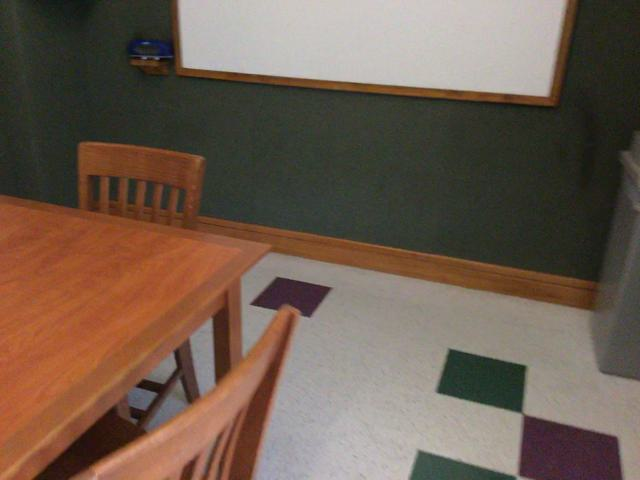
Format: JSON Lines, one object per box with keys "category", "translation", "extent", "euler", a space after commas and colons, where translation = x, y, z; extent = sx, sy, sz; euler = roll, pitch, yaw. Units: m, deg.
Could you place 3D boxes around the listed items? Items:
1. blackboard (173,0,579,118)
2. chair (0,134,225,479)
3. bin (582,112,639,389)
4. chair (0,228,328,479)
{"category": "blackboard", "translation": [0.150, -1.090, 2.440], "extent": [1.770, 0.940, 0.090], "euler": [11, 25, 19]}
{"category": "chair", "translation": [-0.660, 0.230, 1.660], "extent": [0.470, 0.890, 0.660], "euler": [11, 25, 19]}
{"category": "bin", "translation": [1.260, 0.030, 2.140], "extent": [0.350, 0.870, 0.570], "euler": [11, 25, 19]}
{"category": "chair", "translation": [-0.380, 0.530, 1.000], "extent": [0.580, 0.880, 0.540], "euler": [13, 25, 24]}
